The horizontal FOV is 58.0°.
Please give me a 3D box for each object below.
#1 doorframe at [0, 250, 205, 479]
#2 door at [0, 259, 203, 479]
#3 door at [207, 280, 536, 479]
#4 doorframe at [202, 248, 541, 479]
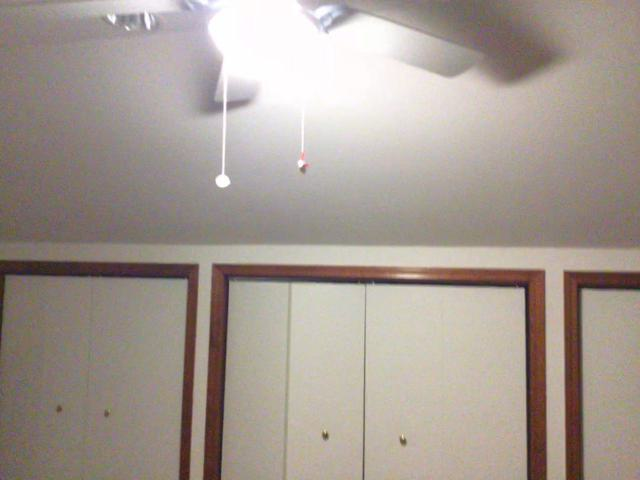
[{"bbox_3d":[-1.230,0.870,2.990,1.230,1.600,0.140,1,-5,17],"label":"doorframe"},{"bbox_3d":[-1.220,0.910,3.010,1.190,1.580,0.120,1,-5,17],"label":"door"},{"bbox_3d":[0.190,0.990,2.640,1.460,1.550,0.160,1,-5,17],"label":"door"},{"bbox_3d":[0.190,0.900,2.650,1.510,1.680,0.160,1,-5,17],"label":"doorframe"}]
